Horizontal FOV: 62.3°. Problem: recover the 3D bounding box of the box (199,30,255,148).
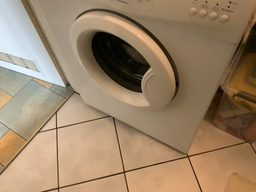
[{"bbox_3d":[0.590,-0.020,0.970,0.330,0.310,0.360,28,62,21],"label":"box"}]
